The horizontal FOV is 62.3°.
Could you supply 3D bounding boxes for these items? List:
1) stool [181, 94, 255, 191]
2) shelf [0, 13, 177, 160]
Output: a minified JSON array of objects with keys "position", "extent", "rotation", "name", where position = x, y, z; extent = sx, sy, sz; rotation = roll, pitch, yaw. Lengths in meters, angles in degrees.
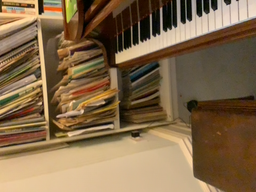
[{"position":[0.610,0.210,0.880],"extent":[0.540,0.500,0.400],"rotation":[0,94,63],"name":"stool"},{"position":[-0.610,-0.080,1.510],"extent":[0.440,2.050,0.830],"rotation":[5,99,62],"name":"shelf"}]
